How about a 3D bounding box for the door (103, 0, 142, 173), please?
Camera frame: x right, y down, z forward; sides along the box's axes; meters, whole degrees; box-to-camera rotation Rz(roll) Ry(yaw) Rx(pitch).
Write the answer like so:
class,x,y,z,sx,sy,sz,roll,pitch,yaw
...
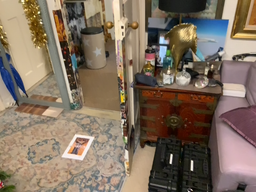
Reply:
class,x,y,z,sx,sy,sz,roll,pitch,yaw
door,0.010,-0.410,1.580,0.030,1.940,0.890,6,35,12
